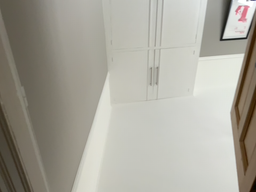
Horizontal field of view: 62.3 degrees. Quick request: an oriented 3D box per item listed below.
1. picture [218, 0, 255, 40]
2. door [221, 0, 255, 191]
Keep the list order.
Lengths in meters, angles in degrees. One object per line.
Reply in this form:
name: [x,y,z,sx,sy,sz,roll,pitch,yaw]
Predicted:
picture: [1.910,-1.360,3.700,0.530,0.680,0.080,-9,-144,-7]
door: [0.580,-0.580,0.740,0.050,2.170,0.770,9,-149,17]
